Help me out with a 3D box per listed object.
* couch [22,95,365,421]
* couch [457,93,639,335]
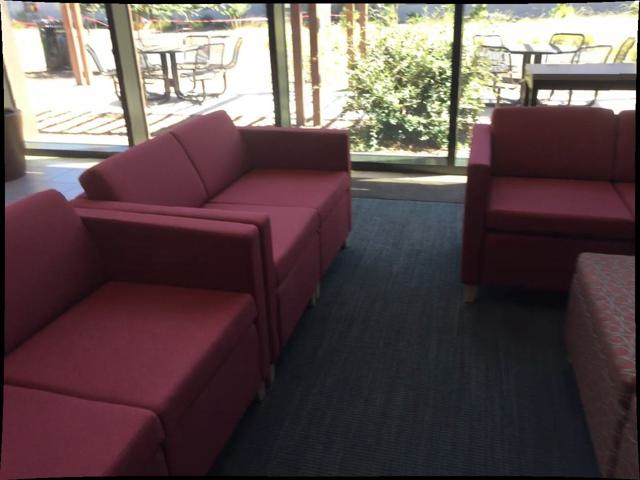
[{"bbox_3d":[-0.349,-0.090,2.550,0.809,0.781,1.520,6,25,14],"label":"couch"},{"bbox_3d":[1.627,-0.130,2.560,1.867,0.801,0.880,6,26,15],"label":"couch"}]
